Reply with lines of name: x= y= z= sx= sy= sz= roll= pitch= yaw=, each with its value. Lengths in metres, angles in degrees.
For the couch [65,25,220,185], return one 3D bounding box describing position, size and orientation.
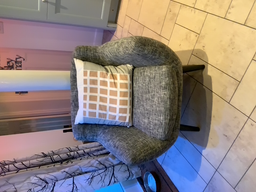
couch: x=0.040 y=-0.010 z=1.620 sx=0.810 sy=0.830 sz=0.820 roll=17 pitch=107 yaw=59
